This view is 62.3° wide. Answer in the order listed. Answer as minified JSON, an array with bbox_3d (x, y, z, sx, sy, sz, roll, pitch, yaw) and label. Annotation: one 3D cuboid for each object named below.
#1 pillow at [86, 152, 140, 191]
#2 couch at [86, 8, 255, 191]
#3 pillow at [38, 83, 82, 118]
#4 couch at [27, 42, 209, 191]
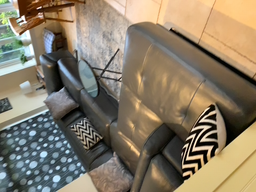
[{"bbox_3d":[-0.180,0.980,2.560,0.490,0.400,0.120,29,139,19],"label":"pillow"},{"bbox_3d":[0.280,0.230,1.730,1.040,0.780,1.360,46,146,30],"label":"couch"},{"bbox_3d":[-1.060,0.060,3.340,0.530,0.360,0.160,26,138,13],"label":"pillow"},{"bbox_3d":[-0.420,0.480,3.050,2.910,0.780,1.030,46,146,30],"label":"couch"}]
